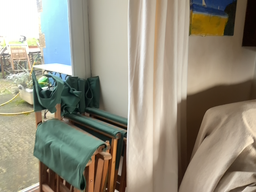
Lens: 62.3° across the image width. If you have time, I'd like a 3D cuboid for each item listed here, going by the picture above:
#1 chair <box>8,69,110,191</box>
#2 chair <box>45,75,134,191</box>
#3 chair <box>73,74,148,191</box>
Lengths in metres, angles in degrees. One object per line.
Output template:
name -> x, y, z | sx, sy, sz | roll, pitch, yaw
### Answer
chair -> -0.380, 0.360, 1.140 | 0.190, 0.920, 0.650 | -13, 21, -43
chair -> -0.250, 0.350, 1.280 | 0.190, 0.870, 0.570 | -13, 21, -43
chair -> -0.140, 0.330, 1.380 | 0.120, 0.870, 0.550 | -13, 21, -43
